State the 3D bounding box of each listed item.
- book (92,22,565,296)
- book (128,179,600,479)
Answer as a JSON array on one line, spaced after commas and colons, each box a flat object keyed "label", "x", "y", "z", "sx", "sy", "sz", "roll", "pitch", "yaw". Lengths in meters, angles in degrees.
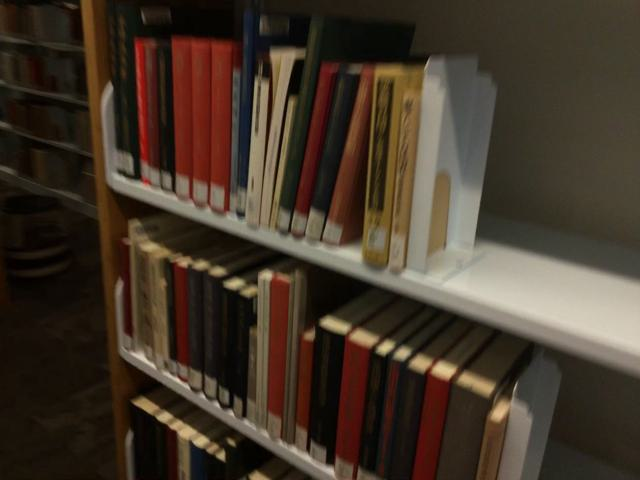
[{"label": "book", "x": -0.010, "y": -0.170, "z": 0.840, "sx": 0.570, "sy": 0.230, "sz": 0.330, "roll": 19, "pitch": 27, "yaw": 33}, {"label": "book", "x": 0.010, "y": 0.150, "z": 0.850, "sx": 0.640, "sy": 0.310, "sz": 0.210, "roll": 19, "pitch": 27, "yaw": 33}]
